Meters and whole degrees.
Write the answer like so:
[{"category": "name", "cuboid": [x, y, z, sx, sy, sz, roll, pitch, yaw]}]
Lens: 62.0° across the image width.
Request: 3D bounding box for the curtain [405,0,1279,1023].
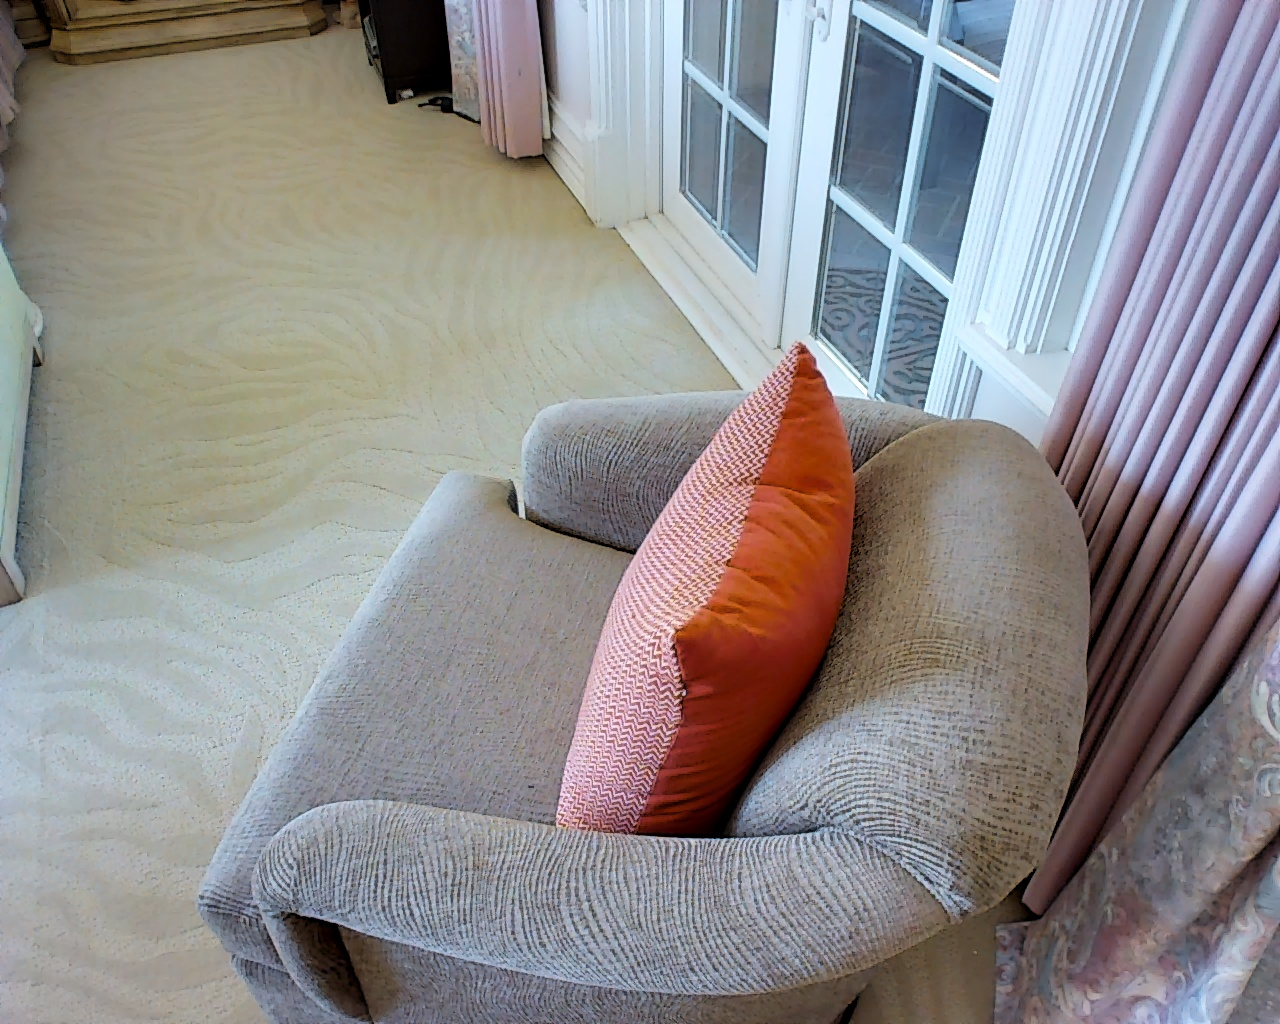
[{"category": "curtain", "cuboid": [0.060, -1.340, 1.570, 0.370, 2.810, 3.750, -14, 44, -15]}]
